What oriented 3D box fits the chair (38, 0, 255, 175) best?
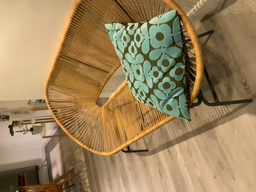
[{"bbox_3d":[0.040,-0.070,1.390,1.450,0.880,0.730,-41,58,49],"label":"chair"}]
